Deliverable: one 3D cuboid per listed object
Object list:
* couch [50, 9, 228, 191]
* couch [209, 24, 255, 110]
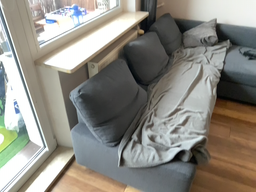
[{"bbox_3d":[0.410,-0.220,2.250,0.960,0.750,2.340,14,38,18],"label":"couch"},{"bbox_3d":[1.430,-0.390,2.580,0.630,0.650,0.880,13,38,18],"label":"couch"}]
